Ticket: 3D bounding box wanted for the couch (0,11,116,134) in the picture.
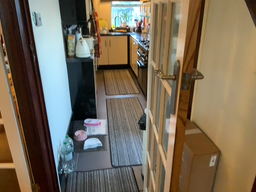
[{"bbox_3d":[-1.050,-0.410,2.650,1.020,0.880,2.150,3,14,19],"label":"couch"}]
